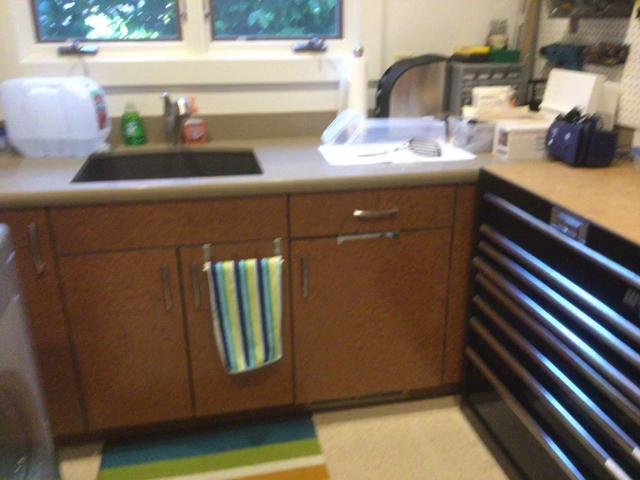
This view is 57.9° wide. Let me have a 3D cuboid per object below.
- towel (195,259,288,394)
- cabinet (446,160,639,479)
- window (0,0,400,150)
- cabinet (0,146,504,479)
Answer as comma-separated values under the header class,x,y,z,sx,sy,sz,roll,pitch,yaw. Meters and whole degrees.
class,x,y,z,sx,sy,sz,roll,pitch,yaw
towel,-0.230,0.260,1.730,0.250,0.390,0.070,-5,21,-12
cabinet,0.730,0.340,1.510,0.380,0.900,0.920,-5,21,-12
window,-0.420,-1.020,1.880,1.370,1.360,0.230,-5,21,-12
cabinet,-0.530,0.200,1.950,2.090,0.830,0.610,-5,21,-12
